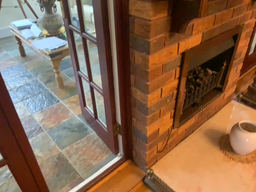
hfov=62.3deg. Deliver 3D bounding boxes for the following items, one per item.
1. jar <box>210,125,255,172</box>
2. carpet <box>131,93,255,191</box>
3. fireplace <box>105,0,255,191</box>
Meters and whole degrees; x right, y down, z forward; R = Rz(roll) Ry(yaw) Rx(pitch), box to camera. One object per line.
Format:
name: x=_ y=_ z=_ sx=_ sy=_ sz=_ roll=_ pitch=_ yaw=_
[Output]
jar: x=0.750 y=0.370 z=1.530 sx=0.210 sy=0.190 sz=0.180 roll=-24 pitch=42 yaw=-29
carpet: x=0.810 y=0.470 z=1.540 sx=1.390 sy=0.130 sz=0.810 roll=-27 pitch=43 yaw=-32
fireplace: x=0.500 y=-0.190 z=1.490 sx=1.190 sy=1.210 sz=0.480 roll=-27 pitch=43 yaw=-32
